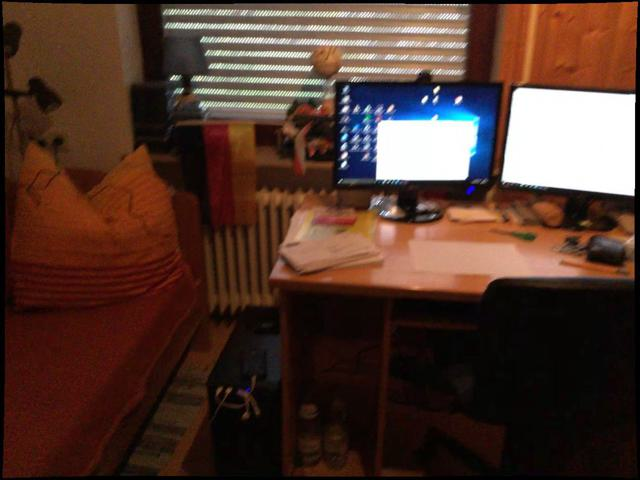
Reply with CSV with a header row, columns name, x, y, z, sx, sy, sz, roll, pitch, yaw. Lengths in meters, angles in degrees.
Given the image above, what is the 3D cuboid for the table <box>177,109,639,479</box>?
name,x,y,z,sx,sy,sz,roll,pitch,yaw
table,0.619,0.290,2.000,1.728,1.051,1.210,-8,22,4

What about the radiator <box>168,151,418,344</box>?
name,x,y,z,sx,sy,sz,roll,pitch,yaw
radiator,-0.090,0.040,2.520,0.939,0.681,0.240,-8,22,4

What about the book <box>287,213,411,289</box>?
name,x,y,z,sx,sy,sz,roll,pitch,yaw
book,0.070,0.020,1.540,0.250,0.060,0.250,-16,23,-15
